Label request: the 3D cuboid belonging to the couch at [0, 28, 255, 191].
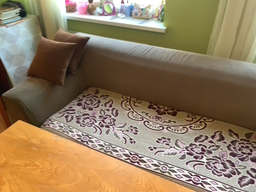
[{"bbox_3d":[0.250,0.150,1.660,2.260,0.770,1.110,15,37,21],"label":"couch"}]
